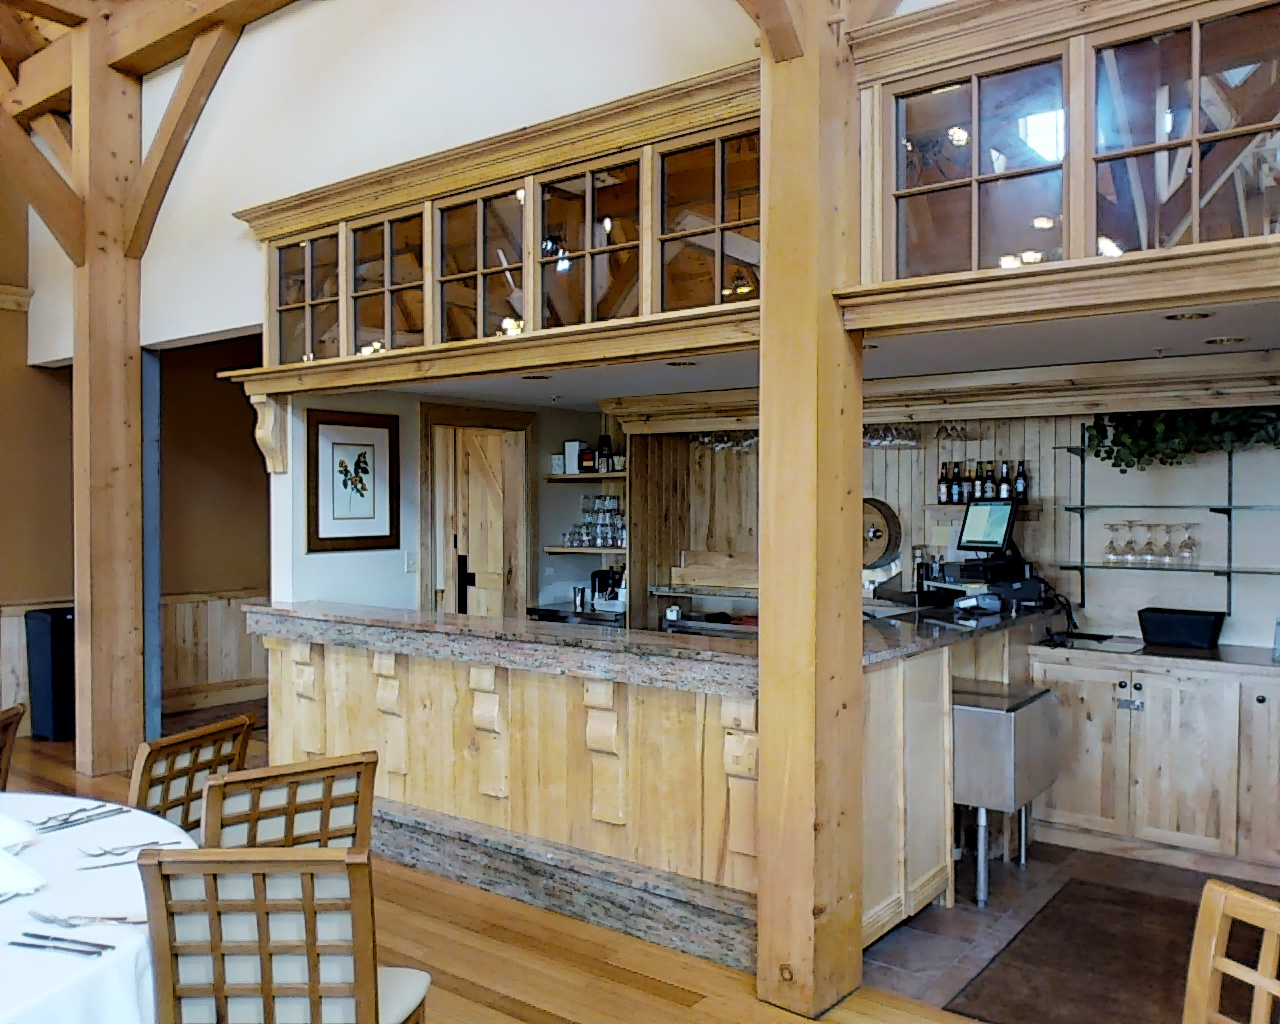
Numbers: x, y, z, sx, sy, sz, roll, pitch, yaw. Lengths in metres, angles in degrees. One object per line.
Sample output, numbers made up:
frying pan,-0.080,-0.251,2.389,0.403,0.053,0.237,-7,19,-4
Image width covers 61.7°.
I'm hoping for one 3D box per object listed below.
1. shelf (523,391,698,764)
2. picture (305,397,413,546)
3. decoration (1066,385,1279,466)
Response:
shelf,-0.180,0.370,6.750,0.740,2.160,0.830,1,2,38
picture,-1.470,-0.210,5.660,0.040,0.750,0.660,1,2,38
decoration,2.600,-0.370,4.700,1.260,0.310,0.520,1,2,38
